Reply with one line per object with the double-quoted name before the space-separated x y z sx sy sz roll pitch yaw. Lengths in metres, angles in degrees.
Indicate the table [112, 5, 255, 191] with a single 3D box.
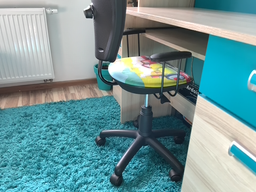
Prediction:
"table" 0.360 0.070 0.920 0.540 0.790 1.210 -8 27 -19
